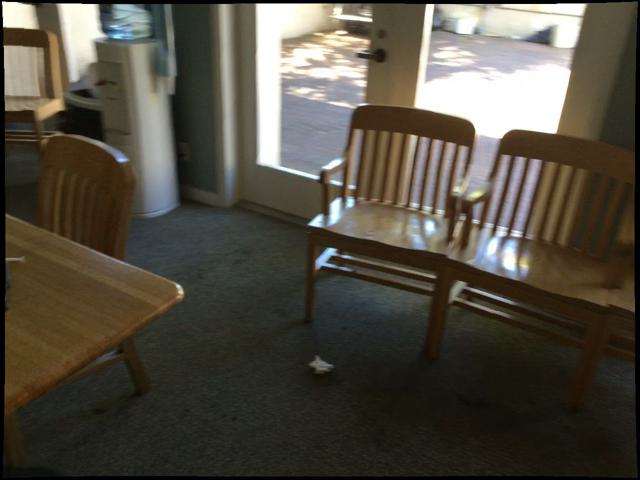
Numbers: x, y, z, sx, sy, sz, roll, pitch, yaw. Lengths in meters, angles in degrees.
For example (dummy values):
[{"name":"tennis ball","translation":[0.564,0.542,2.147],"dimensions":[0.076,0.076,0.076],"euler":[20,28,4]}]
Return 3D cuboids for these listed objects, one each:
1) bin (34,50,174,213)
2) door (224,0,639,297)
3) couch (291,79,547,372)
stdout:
[{"name":"bin","translation":[-1.219,-0.631,3.310],"dimensions":[0.630,0.761,0.310],"euler":[17,32,26]},{"name":"door","translation":[0.390,-0.901,2.660],"dimensions":[1.909,1.962,0.230],"euler":[17,32,26]},{"name":"couch","translation":[0.390,-0.120,2.390],"dimensions":[0.740,0.841,0.730],"euler":[17,32,26]}]
